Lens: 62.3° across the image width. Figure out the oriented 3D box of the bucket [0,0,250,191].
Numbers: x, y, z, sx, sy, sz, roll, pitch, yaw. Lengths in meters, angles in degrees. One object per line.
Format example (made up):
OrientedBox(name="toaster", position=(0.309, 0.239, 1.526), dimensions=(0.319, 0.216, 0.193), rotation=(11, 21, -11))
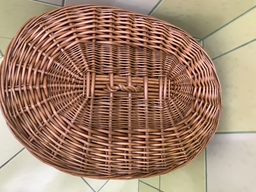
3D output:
OrientedBox(name="bucket", position=(-0.070, 0.020, 0.690), dimensions=(0.480, 0.620, 0.370), rotation=(5, 79, -20))
